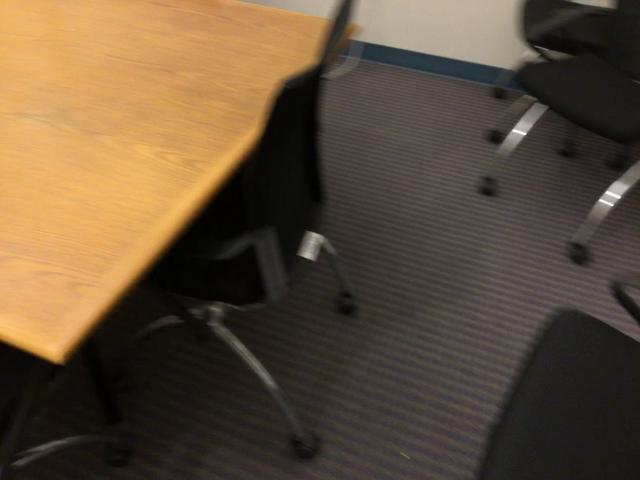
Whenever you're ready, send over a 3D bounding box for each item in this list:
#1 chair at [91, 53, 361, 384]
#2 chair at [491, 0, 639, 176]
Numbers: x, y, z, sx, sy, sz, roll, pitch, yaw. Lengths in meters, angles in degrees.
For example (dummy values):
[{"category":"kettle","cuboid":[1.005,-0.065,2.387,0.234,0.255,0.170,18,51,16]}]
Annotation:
[{"category":"chair","cuboid":[-0.160,-0.070,1.260,0.290,0.430,0.530,18,43,14]},{"category":"chair","cuboid":[0.940,-0.620,1.700,0.620,0.570,0.660,18,43,14]}]
